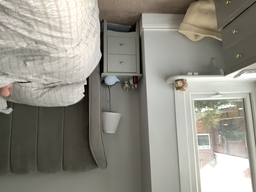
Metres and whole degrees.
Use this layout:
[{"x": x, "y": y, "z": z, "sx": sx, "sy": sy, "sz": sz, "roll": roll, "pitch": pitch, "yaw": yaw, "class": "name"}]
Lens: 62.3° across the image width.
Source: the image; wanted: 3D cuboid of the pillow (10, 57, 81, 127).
[{"x": -0.670, "y": -0.030, "z": 1.780, "sx": 0.460, "sy": 0.360, "sz": 0.120, "roll": -62, "pitch": -174, "yaw": -11, "class": "pillow"}]
